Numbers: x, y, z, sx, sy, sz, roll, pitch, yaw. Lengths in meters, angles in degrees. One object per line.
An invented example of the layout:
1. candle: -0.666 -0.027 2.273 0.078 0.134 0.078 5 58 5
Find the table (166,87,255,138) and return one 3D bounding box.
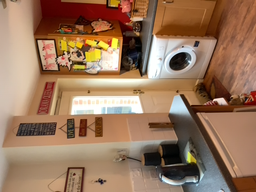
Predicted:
1. table: 0.860 0.140 1.910 0.280 0.920 0.340 -103 16 -49

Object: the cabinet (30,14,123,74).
1. cabinet: -0.670 -0.720 2.950 0.600 1.080 0.580 -103 16 -50
